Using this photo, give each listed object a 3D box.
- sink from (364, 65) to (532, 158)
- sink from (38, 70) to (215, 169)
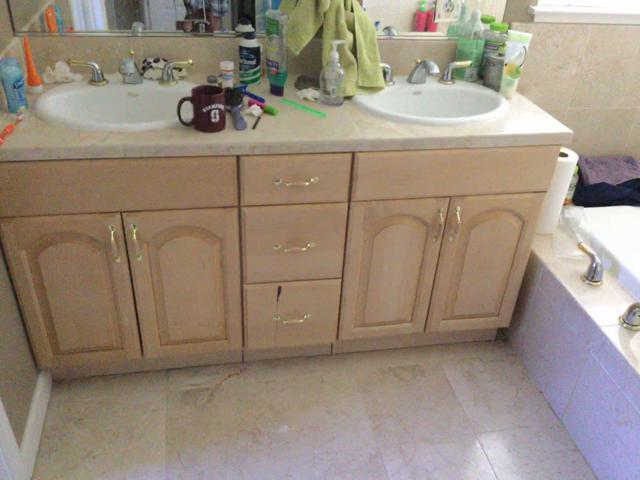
[{"bbox_3d":[0.380,-0.420,1.830,0.380,0.160,0.390,-4,32,-12],"label":"sink"},{"bbox_3d":[-0.530,-0.360,1.660,0.420,0.140,0.400,-4,32,-12],"label":"sink"}]
